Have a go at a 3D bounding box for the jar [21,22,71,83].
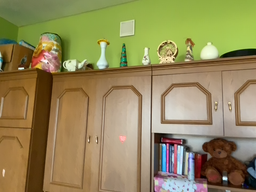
[{"bbox_3d":[-0.840,-0.430,2.200,0.310,0.520,0.310,-2,-10,24],"label":"jar"}]
